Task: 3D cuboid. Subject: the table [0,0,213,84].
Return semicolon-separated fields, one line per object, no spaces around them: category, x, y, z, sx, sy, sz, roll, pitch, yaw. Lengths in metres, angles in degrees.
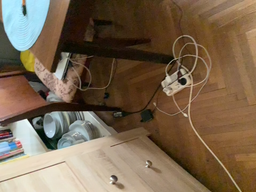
table;-0.220;-0.680;1.050;1.100;0.730;0.780;40;117;32
